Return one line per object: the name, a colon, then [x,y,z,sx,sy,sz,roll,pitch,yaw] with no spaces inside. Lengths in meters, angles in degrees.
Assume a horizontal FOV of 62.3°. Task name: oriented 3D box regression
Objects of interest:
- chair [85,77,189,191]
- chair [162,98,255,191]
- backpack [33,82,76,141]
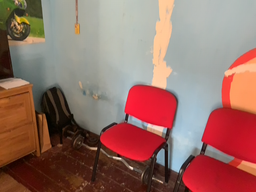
chair: [0.050,0.360,1.840,0.630,0.840,0.550,18,25,33]
chair: [0.660,0.560,1.450,0.630,0.840,0.570,18,25,33]
backpack: [-0.880,0.170,2.570,0.360,0.570,0.320,18,25,32]
